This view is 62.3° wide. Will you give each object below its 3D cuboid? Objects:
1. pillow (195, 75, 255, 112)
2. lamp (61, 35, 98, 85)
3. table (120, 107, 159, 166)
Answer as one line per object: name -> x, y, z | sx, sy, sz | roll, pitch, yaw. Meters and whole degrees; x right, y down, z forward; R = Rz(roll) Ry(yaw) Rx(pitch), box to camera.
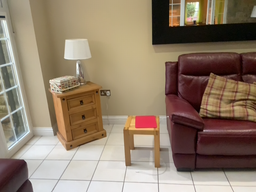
pillow -> 1.030, -0.010, 2.150 | 0.560, 0.120, 0.510 | 13, -13, 9
lamp -> -0.600, -0.460, 2.630 | 0.300, 0.540, 0.330 | -13, 21, -29
table -> 0.140, 0.410, 2.290 | 0.370, 0.420, 0.520 | 0, 18, 6
